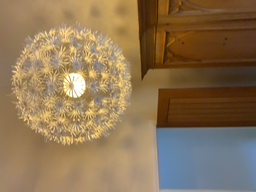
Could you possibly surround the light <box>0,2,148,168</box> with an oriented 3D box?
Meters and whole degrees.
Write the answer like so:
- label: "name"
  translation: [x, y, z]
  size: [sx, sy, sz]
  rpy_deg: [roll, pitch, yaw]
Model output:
- label: "light"
  translation: [-0.950, -0.070, 1.820]
  size: [2.020, 0.940, 0.960]
  rpy_deg: [7, 145, -8]
